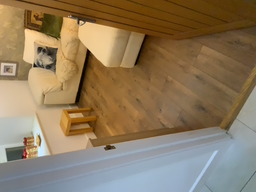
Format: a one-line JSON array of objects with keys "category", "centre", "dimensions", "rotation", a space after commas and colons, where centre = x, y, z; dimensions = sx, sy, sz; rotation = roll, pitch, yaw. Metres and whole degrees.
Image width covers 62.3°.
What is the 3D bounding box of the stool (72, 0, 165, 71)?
[{"category": "stool", "centre": [-0.150, -0.910, 2.340], "dimensions": [0.890, 0.450, 0.940], "rotation": [46, 125, 41]}]
